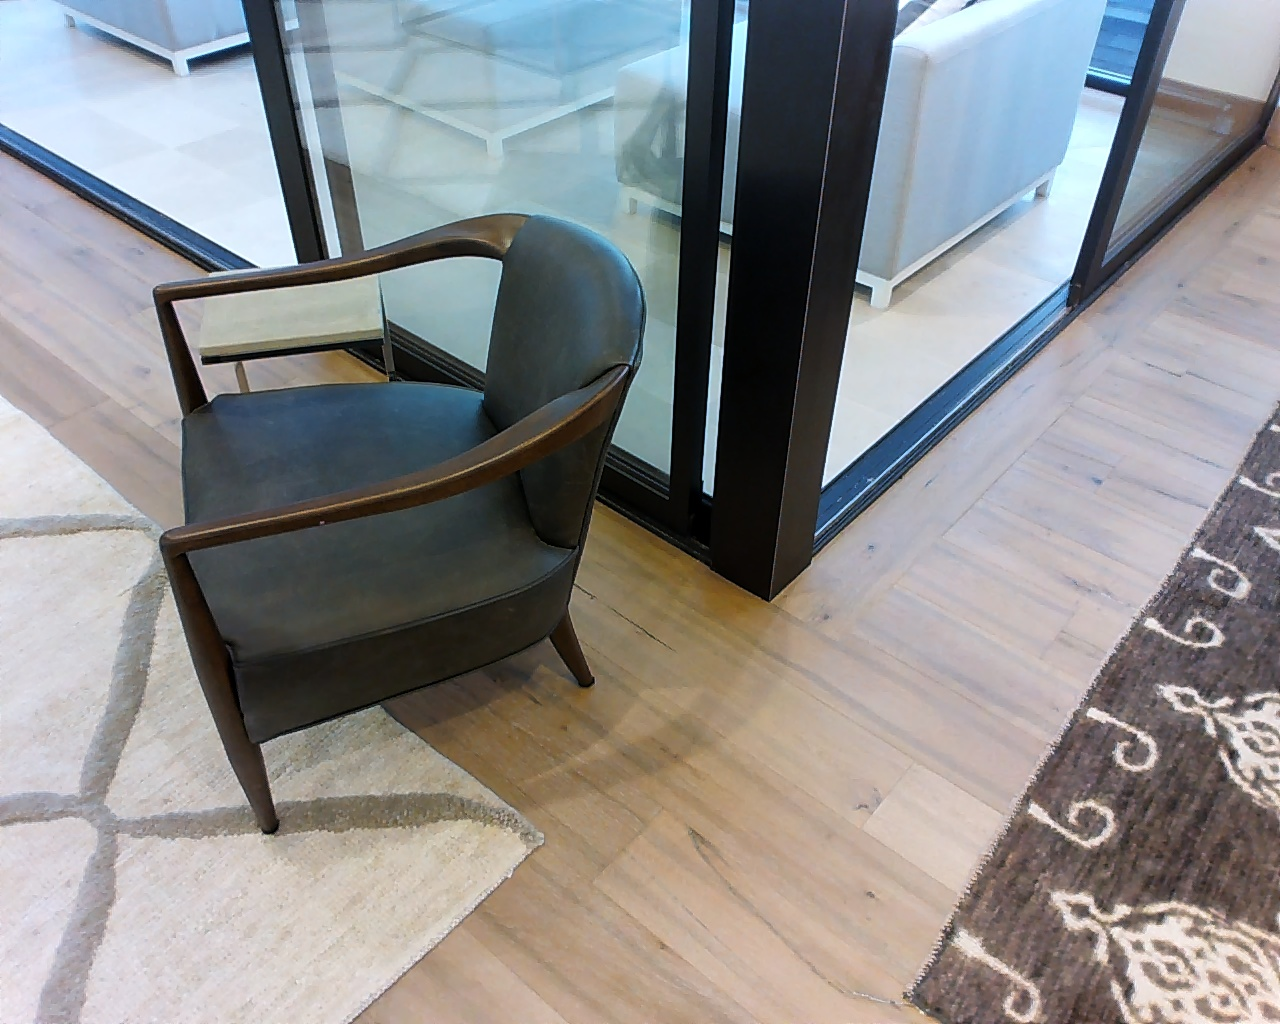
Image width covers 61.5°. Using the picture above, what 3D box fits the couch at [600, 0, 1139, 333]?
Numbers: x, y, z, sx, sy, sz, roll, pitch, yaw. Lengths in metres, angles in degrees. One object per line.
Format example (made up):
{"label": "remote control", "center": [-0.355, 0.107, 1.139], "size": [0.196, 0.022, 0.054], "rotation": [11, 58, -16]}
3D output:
{"label": "couch", "center": [0.710, -1.400, 3.380], "size": [1.150, 0.910, 1.210], "rotation": [30, 49, 29]}
